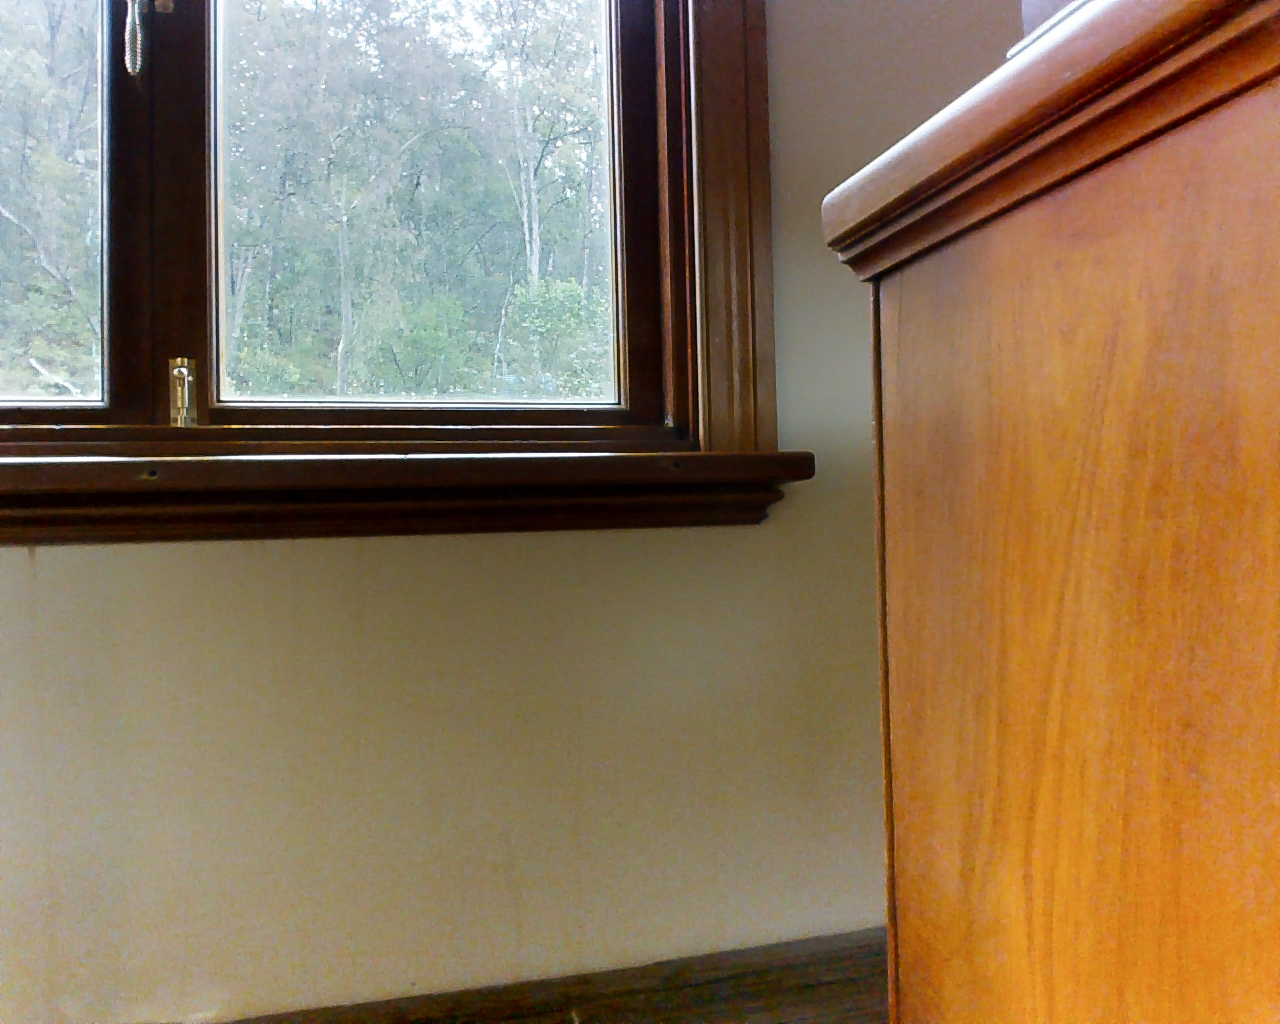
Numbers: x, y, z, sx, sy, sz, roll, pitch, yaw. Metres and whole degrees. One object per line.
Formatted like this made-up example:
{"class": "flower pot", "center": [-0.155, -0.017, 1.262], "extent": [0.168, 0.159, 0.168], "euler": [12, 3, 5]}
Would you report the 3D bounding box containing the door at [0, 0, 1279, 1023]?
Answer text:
{"class": "door", "center": [-0.190, -0.080, 1.170], "extent": [1.959, 2.491, 0.240], "euler": [-1, -2, -16]}
